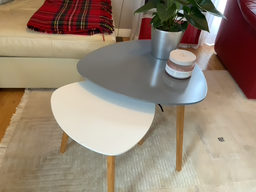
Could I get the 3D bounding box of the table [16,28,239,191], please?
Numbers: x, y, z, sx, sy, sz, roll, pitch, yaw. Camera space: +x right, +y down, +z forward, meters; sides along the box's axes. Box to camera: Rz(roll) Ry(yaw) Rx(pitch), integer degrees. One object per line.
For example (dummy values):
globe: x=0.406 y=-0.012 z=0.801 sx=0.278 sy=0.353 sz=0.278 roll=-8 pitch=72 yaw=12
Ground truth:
table: x=0.030 y=0.070 z=1.030 sx=0.560 sy=0.470 sz=0.770 roll=33 pitch=46 yaw=29
